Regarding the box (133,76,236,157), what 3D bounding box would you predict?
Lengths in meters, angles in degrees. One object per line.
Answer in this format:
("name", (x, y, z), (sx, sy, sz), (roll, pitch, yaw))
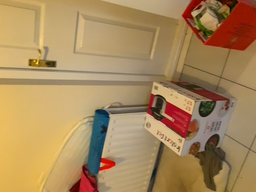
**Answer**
("box", (0.350, 0.100, 1.400), (0.430, 0.410, 0.340), (33, 118, 51))
